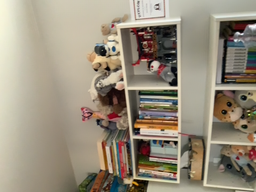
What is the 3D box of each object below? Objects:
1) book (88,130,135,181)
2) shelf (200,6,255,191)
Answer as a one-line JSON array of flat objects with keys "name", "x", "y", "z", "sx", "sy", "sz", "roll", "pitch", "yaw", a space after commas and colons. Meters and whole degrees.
[{"name": "book", "x": -0.100, "y": 0.410, "z": 1.480, "sx": 0.210, "sy": 0.250, "sz": 0.250, "roll": -65, "pitch": -27, "yaw": -59}, {"name": "shelf", "x": 0.580, "y": 0.110, "z": 1.090, "sx": 0.390, "sy": 0.310, "sz": 1.040, "roll": -62, "pitch": -30, "yaw": -62}]
